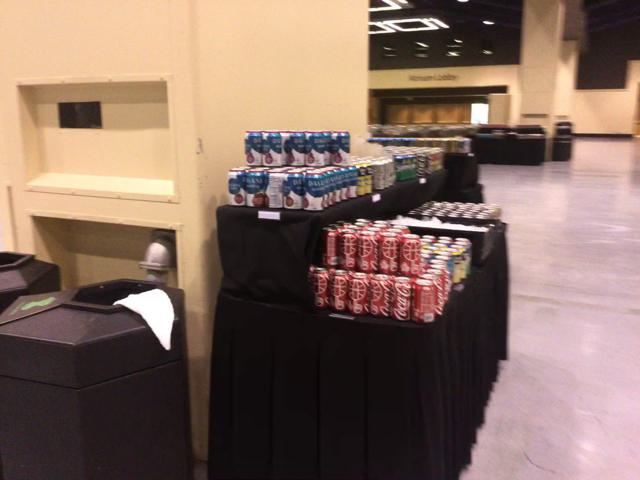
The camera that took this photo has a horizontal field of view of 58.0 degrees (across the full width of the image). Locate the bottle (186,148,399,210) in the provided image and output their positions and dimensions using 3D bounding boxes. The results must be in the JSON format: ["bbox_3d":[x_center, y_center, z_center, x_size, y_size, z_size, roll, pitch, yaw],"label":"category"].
[{"bbox_3d":[-0.040,-0.250,2.150,0.420,0.120,0.920,3,13,24],"label":"bottle"}]

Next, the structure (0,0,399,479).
[{"bbox_3d":[-0.440,-0.450,2.920,1.100,2.300,1.890,3,18,24],"label":"structure"}]

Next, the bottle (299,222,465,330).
[{"bbox_3d":[0.200,0.090,1.770,0.420,0.230,0.320,3,12,24],"label":"bottle"}]

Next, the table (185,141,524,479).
[{"bbox_3d":[0.360,0.190,2.560,0.860,1.030,1.800,3,16,23],"label":"table"}]
